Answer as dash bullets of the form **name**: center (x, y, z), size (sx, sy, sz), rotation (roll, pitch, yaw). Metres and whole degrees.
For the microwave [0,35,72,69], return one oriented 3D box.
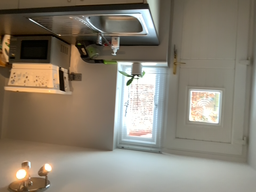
- **microwave**: center (-1.010, -0.480, 2.360), size (0.600, 0.270, 0.440), rotation (3, 179, 13)
